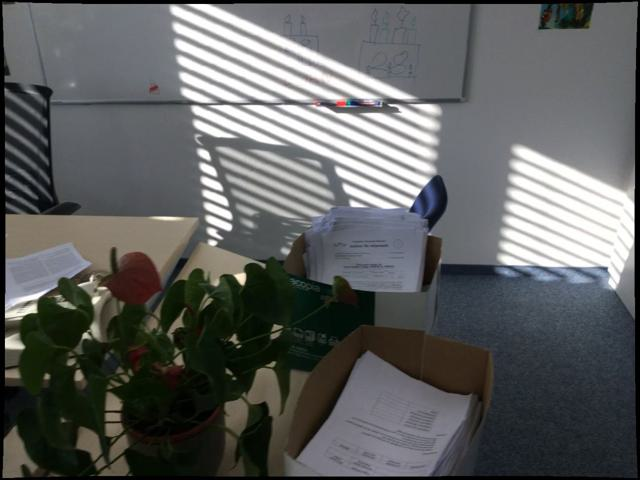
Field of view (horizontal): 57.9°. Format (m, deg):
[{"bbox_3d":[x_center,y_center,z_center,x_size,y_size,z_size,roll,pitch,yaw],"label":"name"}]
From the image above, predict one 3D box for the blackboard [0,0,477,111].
[{"bbox_3d":[-0.400,-0.971,2.530,2.098,0.781,0.110,1,30,6],"label":"blackboard"}]
